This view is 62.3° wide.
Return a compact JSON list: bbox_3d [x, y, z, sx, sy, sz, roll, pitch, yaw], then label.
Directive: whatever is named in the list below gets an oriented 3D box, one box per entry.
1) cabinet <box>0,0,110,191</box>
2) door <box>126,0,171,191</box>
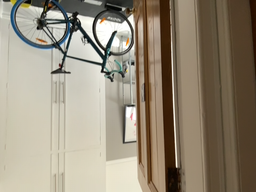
[{"bbox_3d":[-1.090,0.250,3.310,1.630,3.070,0.310,2,174,-35],"label":"cabinet"},{"bbox_3d":[0.050,-0.460,1.110,0.070,1.970,0.830,-1,175,-3],"label":"door"}]
